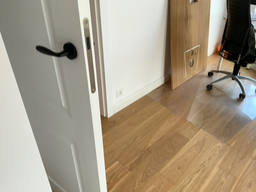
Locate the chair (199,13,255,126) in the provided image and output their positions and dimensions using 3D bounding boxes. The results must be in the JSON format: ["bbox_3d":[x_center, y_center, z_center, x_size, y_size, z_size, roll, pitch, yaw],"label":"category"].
[{"bbox_3d":[1.370,-0.320,2.430,0.640,1.050,0.640,-9,34,-14],"label":"chair"}]

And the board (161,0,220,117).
[{"bbox_3d":[0.850,-0.570,2.700,0.820,1.430,0.250,-29,30,-35],"label":"board"}]
